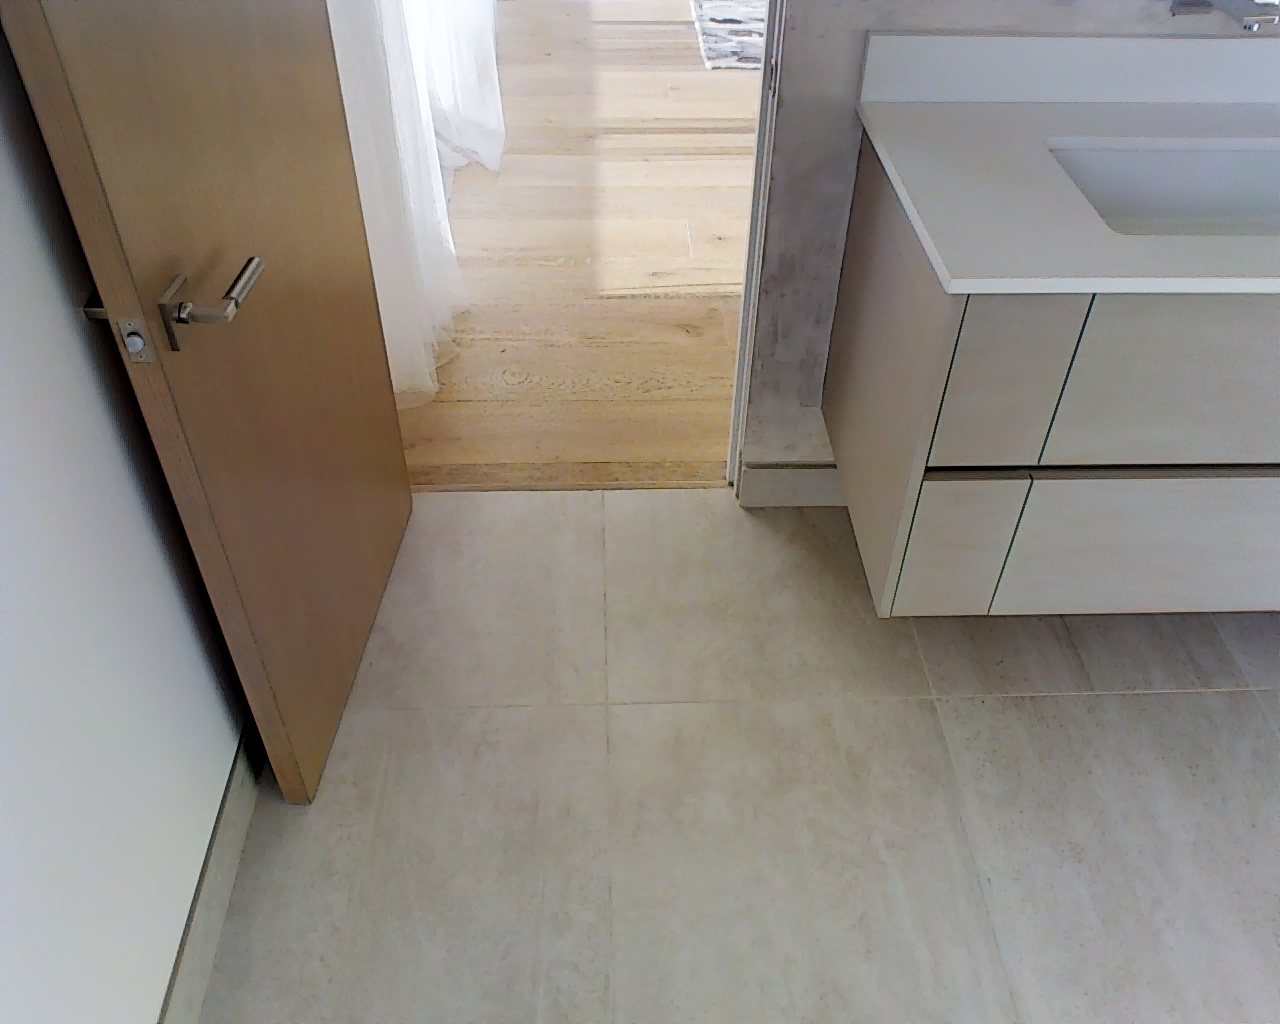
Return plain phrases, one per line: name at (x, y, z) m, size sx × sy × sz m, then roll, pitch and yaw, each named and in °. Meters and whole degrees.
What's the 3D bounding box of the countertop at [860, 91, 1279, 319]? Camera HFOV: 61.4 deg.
countertop at (1.560, -0.480, 1.600) m, size 2.359 × 0.050 × 0.630 m, roll 0°, pitch 42°, yaw -1°
